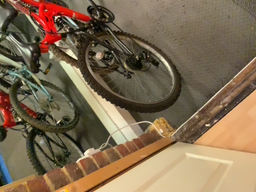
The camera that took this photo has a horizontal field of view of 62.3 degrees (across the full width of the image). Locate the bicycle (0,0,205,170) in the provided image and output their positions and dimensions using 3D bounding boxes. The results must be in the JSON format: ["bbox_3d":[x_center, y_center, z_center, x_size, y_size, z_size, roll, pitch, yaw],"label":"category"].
[{"bbox_3d":[-0.410,-0.490,1.440,1.720,0.720,0.550,49,118,22],"label":"bicycle"}]
